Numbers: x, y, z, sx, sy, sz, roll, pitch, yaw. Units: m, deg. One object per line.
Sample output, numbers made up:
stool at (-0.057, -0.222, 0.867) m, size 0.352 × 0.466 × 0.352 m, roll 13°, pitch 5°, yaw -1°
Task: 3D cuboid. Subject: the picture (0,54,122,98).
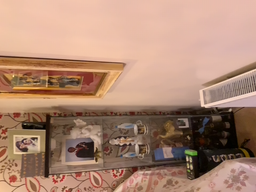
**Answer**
picture at (-0.380, -0.060, 0.940) m, size 0.560 × 0.580 × 0.020 m, roll 144°, pitch 124°, yaw -69°
